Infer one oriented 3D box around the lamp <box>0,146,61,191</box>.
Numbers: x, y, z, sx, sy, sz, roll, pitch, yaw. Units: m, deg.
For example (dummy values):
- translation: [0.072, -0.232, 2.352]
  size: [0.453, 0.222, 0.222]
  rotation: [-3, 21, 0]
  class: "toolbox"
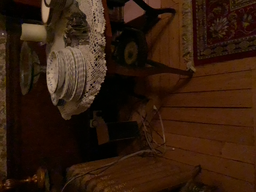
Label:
- translation: [-0.770, 0.530, 1.300]
  size: [0.370, 0.590, 0.300]
  rotation: [-5, 87, 54]
  class: "lamp"
